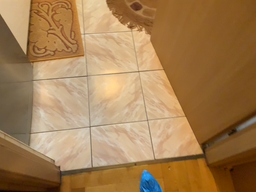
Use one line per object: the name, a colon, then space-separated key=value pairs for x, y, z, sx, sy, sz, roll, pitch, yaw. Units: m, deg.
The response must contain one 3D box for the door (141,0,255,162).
door: x=0.350 y=-0.460 z=0.490 sx=0.040 sy=2.060 sz=0.980 roll=-17 pitch=68 yaw=-11
